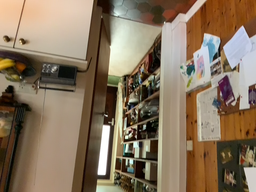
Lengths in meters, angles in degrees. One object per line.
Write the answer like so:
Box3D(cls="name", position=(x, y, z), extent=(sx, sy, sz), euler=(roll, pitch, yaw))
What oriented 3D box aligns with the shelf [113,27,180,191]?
Box3D(cls="shelf", position=(0.190, 0.440, 3.350), extent=(0.250, 2.160, 2.060), euler=(8, 164, -14))
